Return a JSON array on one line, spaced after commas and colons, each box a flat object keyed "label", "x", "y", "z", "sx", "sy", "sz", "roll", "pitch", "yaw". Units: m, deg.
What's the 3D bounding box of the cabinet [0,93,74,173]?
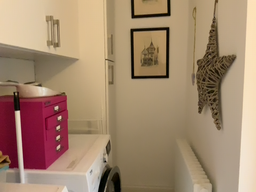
[{"label": "cabinet", "x": -0.570, "y": 0.170, "z": 1.150, "sx": 0.440, "sy": 0.340, "sz": 0.330, "roll": 0, "pitch": 6, "yaw": 6}]
